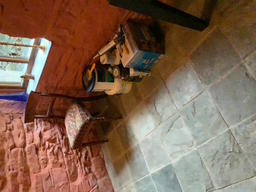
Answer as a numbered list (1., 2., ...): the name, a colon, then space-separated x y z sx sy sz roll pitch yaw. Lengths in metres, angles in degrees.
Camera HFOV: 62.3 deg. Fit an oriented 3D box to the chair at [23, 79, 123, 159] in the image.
1. chair: -0.630 0.230 2.380 0.580 0.840 0.550 57 132 36
